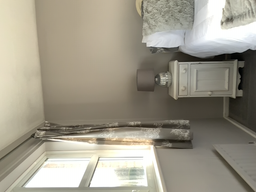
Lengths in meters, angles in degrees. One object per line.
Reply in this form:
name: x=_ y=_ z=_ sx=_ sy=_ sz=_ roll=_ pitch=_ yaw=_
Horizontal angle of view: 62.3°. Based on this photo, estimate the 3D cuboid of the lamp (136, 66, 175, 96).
lamp: x=0.300 y=-0.180 z=2.430 sx=0.300 sy=0.400 sz=0.310 roll=-85 pitch=-6 yaw=-78

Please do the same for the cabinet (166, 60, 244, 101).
cabinet: x=0.840 y=-0.190 z=2.420 sx=0.360 sy=0.740 sz=0.420 roll=-83 pitch=-8 yaw=-81

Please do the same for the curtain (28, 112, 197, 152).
curtain: x=-0.130 y=0.330 z=2.000 sx=0.340 sy=1.440 sz=0.250 roll=-86 pitch=-5 yaw=-76
